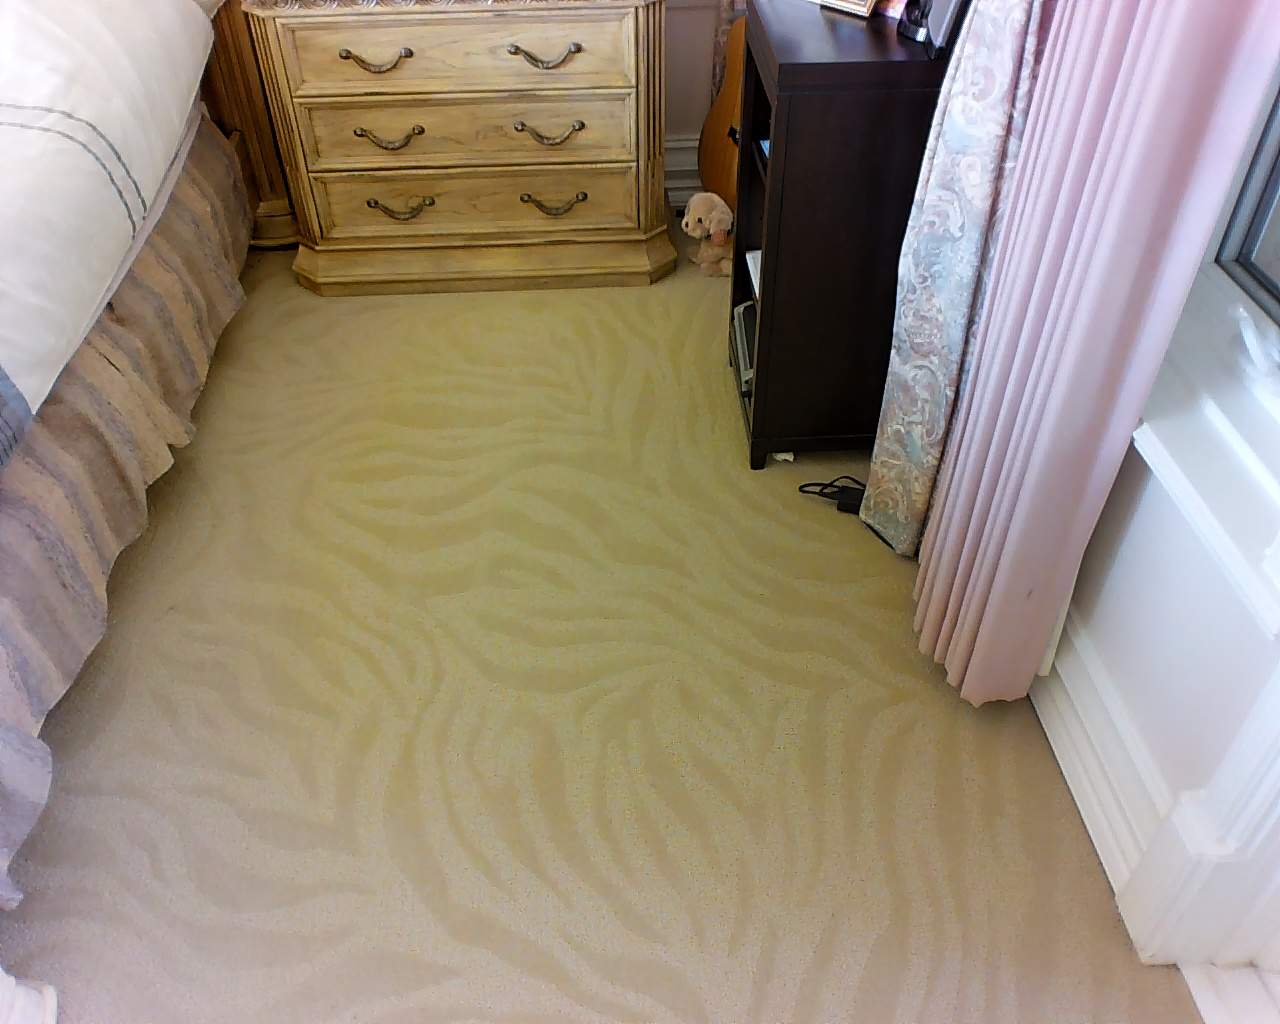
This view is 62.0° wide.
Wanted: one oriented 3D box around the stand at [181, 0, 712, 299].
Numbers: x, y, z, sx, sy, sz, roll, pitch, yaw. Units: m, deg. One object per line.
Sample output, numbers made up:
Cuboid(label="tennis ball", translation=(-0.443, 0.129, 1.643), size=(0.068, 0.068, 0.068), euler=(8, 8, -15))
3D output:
Cuboid(label="stand", translation=(-0.430, -1.030, 2.730), size=(1.150, 0.780, 0.470), euler=(-3, 43, -3))

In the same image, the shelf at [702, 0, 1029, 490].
Cuboid(label="shelf", translation=(0.370, -0.670, 2.110), size=(0.370, 1.060, 0.660), euler=(-3, 43, -4))
